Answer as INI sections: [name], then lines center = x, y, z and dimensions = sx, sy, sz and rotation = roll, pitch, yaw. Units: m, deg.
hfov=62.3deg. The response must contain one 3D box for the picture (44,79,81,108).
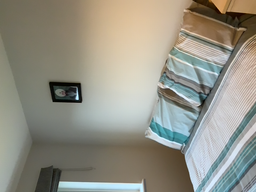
[picture]
center = -0.680, -0.020, 2.250
dimensions = 0.040, 0.340, 0.340
rotation = -93, 8, -48

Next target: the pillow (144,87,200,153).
[pillow]
center = 0.420, 0.260, 2.160
dimensions = 0.180, 0.350, 0.680
rotation = 52, 145, 36
